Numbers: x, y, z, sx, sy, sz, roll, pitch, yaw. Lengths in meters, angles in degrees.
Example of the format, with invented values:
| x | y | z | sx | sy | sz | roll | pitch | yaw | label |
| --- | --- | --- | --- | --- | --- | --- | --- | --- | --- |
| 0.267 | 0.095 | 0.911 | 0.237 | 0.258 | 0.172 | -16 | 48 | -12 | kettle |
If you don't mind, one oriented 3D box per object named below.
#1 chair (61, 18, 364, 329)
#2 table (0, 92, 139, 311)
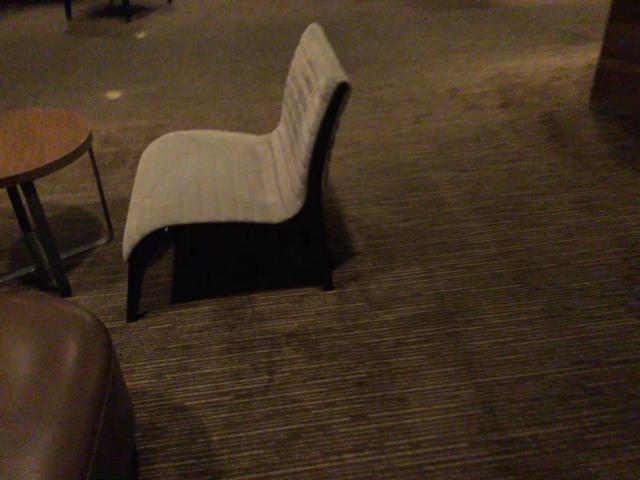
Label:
| x | y | z | sx | sy | sz | roll | pitch | yaw | label |
| --- | --- | --- | --- | --- | --- | --- | --- | --- | --- |
| -0.310 | -0.260 | 2.040 | 0.770 | 0.700 | 0.750 | -9 | 38 | -2 | chair |
| -1.030 | -0.150 | 2.050 | 0.590 | 0.520 | 0.590 | -4 | 36 | -5 | table |
